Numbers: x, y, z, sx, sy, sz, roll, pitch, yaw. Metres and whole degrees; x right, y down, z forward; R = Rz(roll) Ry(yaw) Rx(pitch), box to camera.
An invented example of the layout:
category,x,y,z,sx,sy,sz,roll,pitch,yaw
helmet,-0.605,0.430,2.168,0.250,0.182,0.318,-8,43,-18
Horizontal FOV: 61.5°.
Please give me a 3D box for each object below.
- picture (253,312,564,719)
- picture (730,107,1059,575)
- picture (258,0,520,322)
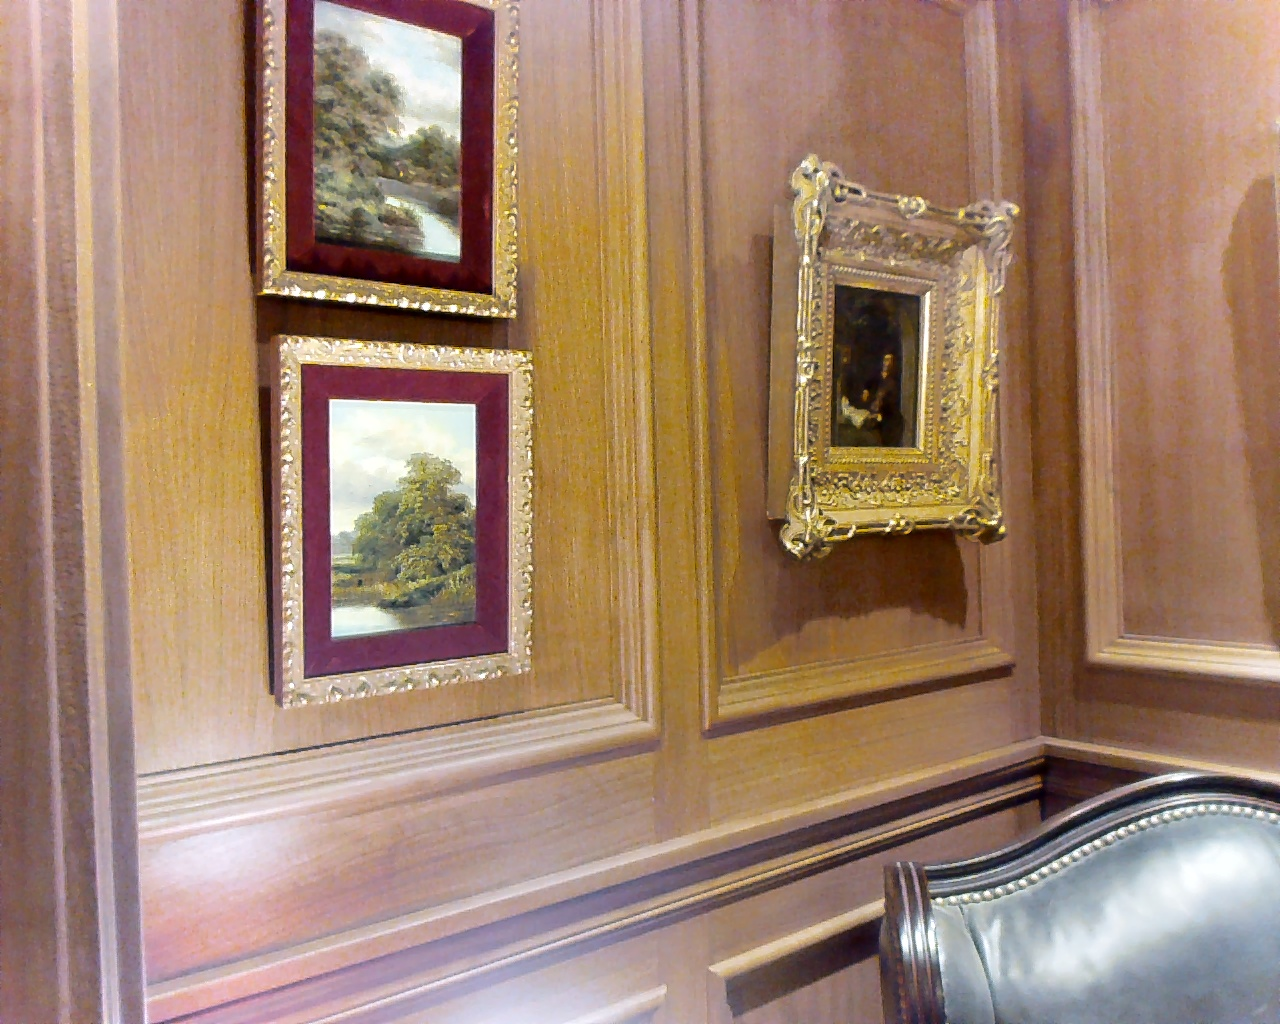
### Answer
category,x,y,z,sx,sy,sz,roll,pitch,yaw
picture,-0.190,0.000,0.920,0.250,0.310,0.060,-2,0,-39
picture,0.320,-0.180,1.290,0.450,0.480,0.120,-2,0,-39
picture,-0.210,-0.320,0.920,0.210,0.290,0.050,-2,0,-39
